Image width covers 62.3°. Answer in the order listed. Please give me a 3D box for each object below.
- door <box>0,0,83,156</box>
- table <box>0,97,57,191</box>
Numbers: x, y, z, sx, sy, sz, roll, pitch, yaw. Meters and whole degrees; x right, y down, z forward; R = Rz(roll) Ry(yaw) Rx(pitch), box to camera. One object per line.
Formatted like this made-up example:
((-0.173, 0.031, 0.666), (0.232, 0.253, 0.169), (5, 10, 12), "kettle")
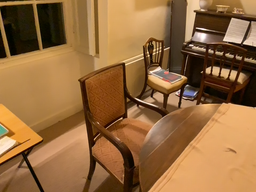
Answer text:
((-0.900, -0.780, 1.710), (0.160, 2.650, 1.030), (24, 36, 32), "door")
((-0.890, 0.550, 1.330), (0.560, 0.770, 0.610), (25, 36, 33), "table")
